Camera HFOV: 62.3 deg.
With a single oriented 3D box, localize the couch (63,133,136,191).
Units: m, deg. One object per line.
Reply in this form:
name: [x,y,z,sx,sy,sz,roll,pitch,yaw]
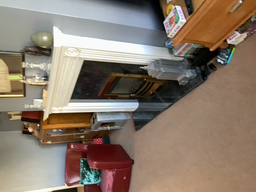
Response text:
couch: [-0.490,1.130,3.210,0.860,0.810,0.760,-140,55,-59]
